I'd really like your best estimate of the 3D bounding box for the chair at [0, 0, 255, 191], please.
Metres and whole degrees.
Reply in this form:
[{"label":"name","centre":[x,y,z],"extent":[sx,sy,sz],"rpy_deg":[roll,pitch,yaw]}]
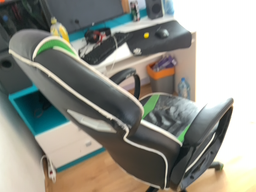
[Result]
[{"label":"chair","centre":[0.110,0.110,1.110],"extent":[0.830,1.220,0.730],"rpy_deg":[-37,43,-27]}]
